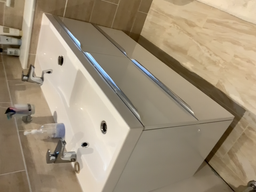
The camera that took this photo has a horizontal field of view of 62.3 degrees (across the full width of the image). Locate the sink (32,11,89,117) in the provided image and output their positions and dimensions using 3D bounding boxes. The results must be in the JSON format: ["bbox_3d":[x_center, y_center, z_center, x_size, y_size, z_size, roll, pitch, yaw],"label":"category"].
[{"bbox_3d":[-0.480,-0.230,1.390,0.620,0.110,0.440,48,127,41],"label":"sink"}]

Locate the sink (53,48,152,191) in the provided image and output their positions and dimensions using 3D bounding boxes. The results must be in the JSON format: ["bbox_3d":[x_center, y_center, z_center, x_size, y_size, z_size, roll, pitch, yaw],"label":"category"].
[{"bbox_3d":[-0.180,0.110,0.990,0.590,0.100,0.440,48,127,41],"label":"sink"}]
